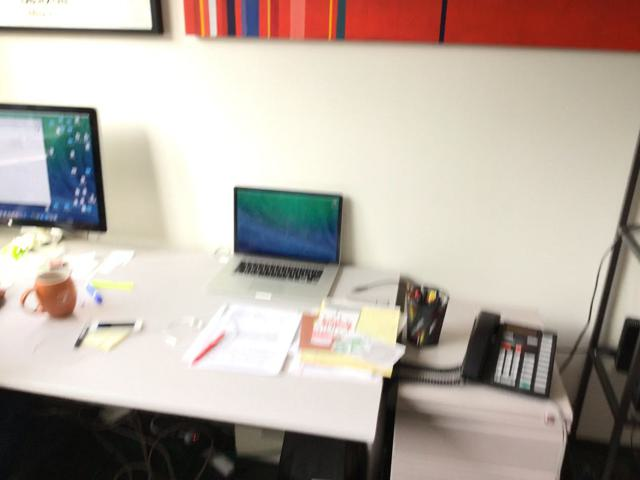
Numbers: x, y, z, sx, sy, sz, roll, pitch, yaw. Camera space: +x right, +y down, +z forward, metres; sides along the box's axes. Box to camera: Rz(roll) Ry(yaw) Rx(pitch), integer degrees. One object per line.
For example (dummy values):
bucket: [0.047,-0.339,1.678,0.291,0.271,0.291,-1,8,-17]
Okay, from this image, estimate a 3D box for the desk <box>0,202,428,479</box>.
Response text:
desk: [-0.600,0.480,1.660,1.650,0.770,0.880,9,22,11]

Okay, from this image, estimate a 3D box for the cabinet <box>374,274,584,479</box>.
cabinet: [0.390,0.540,1.580,0.420,0.720,0.490,5,22,12]

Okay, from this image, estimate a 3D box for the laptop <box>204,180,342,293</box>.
laptop: [-0.130,-0.020,1.720,0.350,0.250,0.210,5,22,12]
